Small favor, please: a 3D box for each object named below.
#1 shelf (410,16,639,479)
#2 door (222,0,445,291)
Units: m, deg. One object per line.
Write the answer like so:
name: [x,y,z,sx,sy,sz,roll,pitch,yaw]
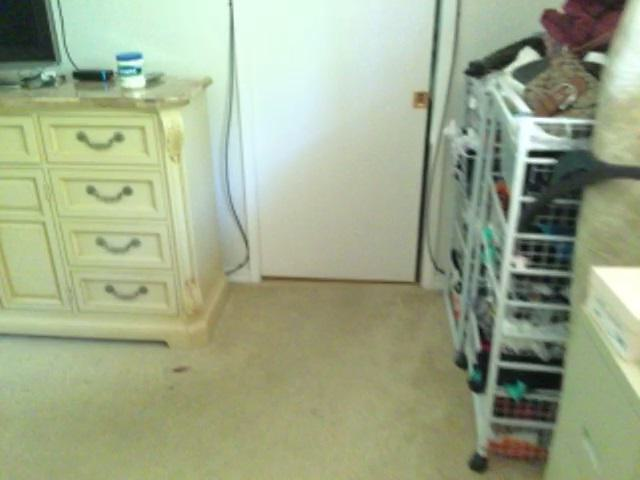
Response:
shelf: [0.730,-0.100,2.030,0.630,1.200,1.230,2,25,3]
door: [0.050,-0.680,2.450,0.860,1.910,0.190,2,25,3]
